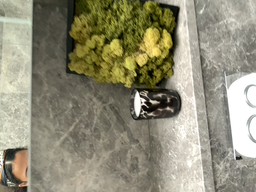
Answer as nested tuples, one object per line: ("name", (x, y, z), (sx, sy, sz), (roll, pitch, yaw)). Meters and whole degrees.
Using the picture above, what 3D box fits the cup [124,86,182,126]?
("cup", (0.060, 0.030, 0.560), (0.130, 0.100, 0.090), (157, 111, -68))
